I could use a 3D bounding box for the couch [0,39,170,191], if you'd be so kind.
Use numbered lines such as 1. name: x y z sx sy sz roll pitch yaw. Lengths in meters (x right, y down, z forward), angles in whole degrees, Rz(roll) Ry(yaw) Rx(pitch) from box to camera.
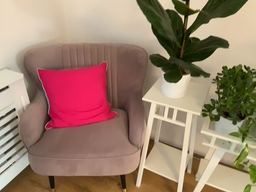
1. couch: -0.300 0.160 1.570 0.920 0.920 0.730 -4 32 -7

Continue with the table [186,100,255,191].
1. table: 0.780 0.480 1.340 0.690 0.660 0.390 14 34 20

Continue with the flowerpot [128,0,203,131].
1. flowerpot: 0.190 -0.350 1.030 0.240 1.010 0.340 16 35 23

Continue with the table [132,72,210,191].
1. table: 0.280 0.300 1.480 0.360 0.790 0.400 14 34 20
